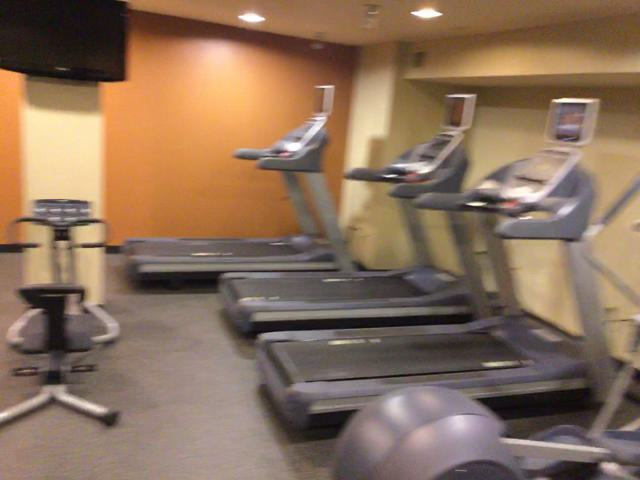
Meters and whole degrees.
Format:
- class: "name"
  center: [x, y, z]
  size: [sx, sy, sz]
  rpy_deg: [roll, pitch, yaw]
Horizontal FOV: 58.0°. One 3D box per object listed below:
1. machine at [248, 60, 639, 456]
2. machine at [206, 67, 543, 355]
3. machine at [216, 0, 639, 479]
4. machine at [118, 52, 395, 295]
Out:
- class: "machine"
  center: [0.720, -0.010, 3.170]
  size: [2.050, 1.720, 0.980]
  rpy_deg: [-3, 11, -15]
- class: "machine"
  center: [0.340, -0.270, 4.240]
  size: [2.160, 1.740, 0.980]
  rpy_deg: [-3, 10, -16]
- class: "machine"
  center: [0.760, 0.130, 2.040]
  size: [2.180, 1.960, 0.730]
  rpy_deg: [-1, 10, -11]
- class: "machine"
  center: [-0.620, -0.580, 5.240]
  size: [2.260, 1.840, 1.010]
  rpy_deg: [-1, 10, -19]
